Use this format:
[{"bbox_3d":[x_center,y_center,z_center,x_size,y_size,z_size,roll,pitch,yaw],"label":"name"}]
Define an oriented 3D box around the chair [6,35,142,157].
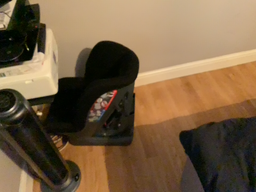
[{"bbox_3d":[-0.240,0.020,1.310,0.600,0.580,0.430,-5,48,1],"label":"chair"}]
